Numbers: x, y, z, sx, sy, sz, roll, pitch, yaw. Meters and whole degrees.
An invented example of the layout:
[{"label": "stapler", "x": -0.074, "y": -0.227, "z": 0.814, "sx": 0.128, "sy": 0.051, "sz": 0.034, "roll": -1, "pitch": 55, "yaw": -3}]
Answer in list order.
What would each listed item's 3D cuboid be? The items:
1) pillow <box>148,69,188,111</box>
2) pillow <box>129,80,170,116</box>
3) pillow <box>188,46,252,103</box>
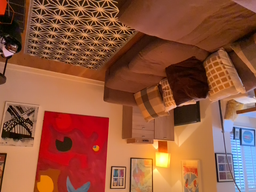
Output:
[{"label": "pillow", "x": 0.560, "y": -0.070, "z": 3.030, "sx": 0.190, "sy": 0.480, "sz": 0.410, "roll": -20, "pitch": 177, "yaw": -33}, {"label": "pillow", "x": 0.330, "y": 0.050, "z": 3.420, "sx": 0.170, "sy": 0.390, "sz": 0.580, "roll": -29, "pitch": -179, "yaw": -39}, {"label": "pillow", "x": 0.980, "y": -0.210, "z": 2.320, "sx": 0.240, "sy": 0.480, "sz": 0.450, "roll": -28, "pitch": -179, "yaw": -20}]
